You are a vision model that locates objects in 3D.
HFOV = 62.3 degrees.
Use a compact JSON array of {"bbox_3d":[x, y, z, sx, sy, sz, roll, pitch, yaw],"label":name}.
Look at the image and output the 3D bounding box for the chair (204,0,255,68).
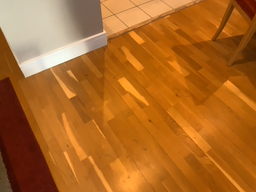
[{"bbox_3d":[1.040,-0.740,1.590,0.520,0.980,0.500,-2,53,-3],"label":"chair"}]
